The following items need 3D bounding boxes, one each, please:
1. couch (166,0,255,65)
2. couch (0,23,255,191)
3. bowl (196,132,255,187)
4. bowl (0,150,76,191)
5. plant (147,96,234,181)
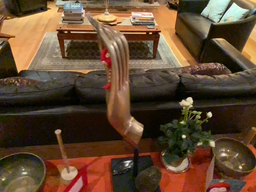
[{"bbox_3d":[1.210,-1.090,3.100,0.870,0.720,1.270,-2,38,-7],"label":"couch"},{"bbox_3d":[-0.120,0.000,1.570,1.920,0.750,0.940,-3,38,-8],"label":"couch"},{"bbox_3d":[0.470,0.290,0.990,0.210,0.100,0.210,-2,38,-8],"label":"bowl"},{"bbox_3d":[-0.400,0.380,0.910,0.310,0.060,0.300,-1,38,-6],"label":"bowl"},{"bbox_3d":[0.250,0.190,0.960,0.260,0.300,0.210,-3,38,-9],"label":"plant"}]
